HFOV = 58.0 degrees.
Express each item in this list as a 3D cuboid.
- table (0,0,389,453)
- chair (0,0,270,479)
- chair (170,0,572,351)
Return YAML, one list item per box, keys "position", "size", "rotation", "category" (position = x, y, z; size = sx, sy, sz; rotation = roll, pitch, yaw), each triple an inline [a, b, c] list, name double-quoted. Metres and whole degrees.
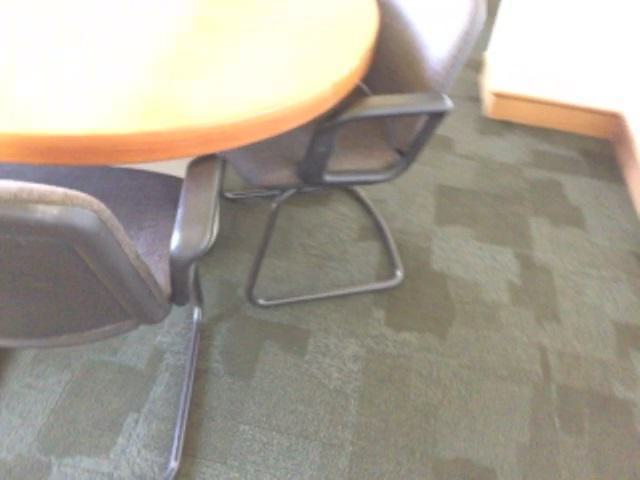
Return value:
- position: [-0.510, -0.330, 1.550]
  size: [1.220, 0.780, 1.250]
  rotation: [12, 43, 3]
  category: "table"
- position: [-0.510, 0.070, 1.080]
  size: [0.650, 0.840, 0.620]
  rotation: [12, 43, 3]
  category: "chair"
- position: [0.020, -0.300, 1.510]
  size: [0.650, 0.860, 0.640]
  rotation: [-12, 47, -21]
  category: "chair"
